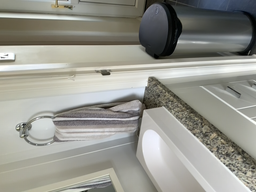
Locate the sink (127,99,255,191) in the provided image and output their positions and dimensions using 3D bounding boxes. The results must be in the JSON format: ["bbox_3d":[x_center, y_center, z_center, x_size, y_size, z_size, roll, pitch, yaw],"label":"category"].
[{"bbox_3d":[0.210,0.320,0.710,0.670,0.120,0.310,50,140,49],"label":"sink"}]

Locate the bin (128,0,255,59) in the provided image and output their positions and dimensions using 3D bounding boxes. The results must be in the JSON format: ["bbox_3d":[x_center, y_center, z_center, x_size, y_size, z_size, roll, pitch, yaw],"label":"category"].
[{"bbox_3d":[0.410,-0.430,1.340,0.360,0.710,0.260,49,138,51],"label":"bin"}]
